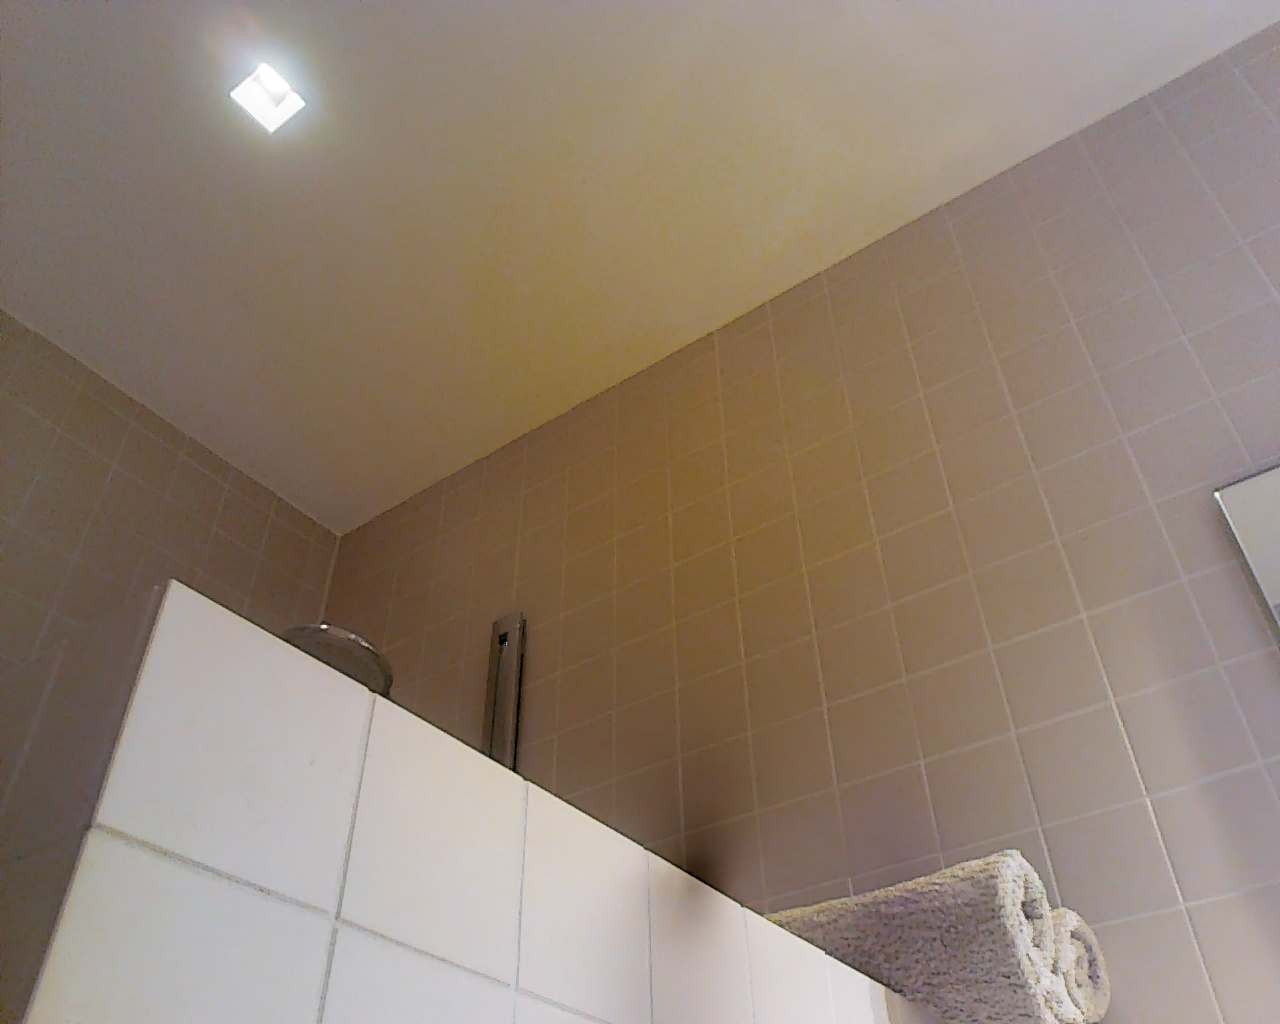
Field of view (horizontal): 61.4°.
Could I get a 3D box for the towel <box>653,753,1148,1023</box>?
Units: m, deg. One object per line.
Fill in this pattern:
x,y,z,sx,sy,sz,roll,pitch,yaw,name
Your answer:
0.220,0.390,0.910,0.310,0.190,0.280,-26,-47,26,towel
